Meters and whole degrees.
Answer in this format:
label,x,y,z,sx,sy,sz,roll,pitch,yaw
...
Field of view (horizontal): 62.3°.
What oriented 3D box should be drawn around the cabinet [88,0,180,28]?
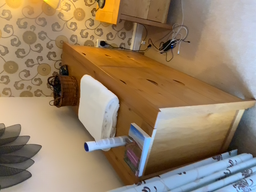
label,x,y,z,sx,sy,sz,roll,pitch,yaw
cabinet,0.070,-0.920,1.830,0.470,0.630,0.490,35,118,50
